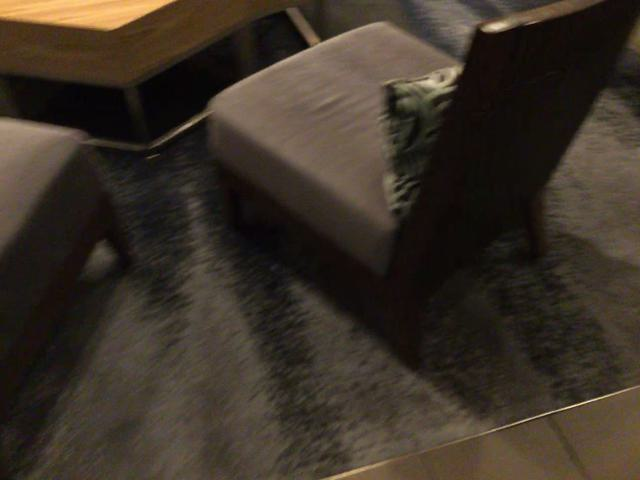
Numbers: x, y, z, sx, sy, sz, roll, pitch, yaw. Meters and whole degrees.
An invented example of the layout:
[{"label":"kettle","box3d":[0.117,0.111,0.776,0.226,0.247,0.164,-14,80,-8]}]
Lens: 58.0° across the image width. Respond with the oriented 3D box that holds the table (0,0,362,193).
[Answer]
[{"label":"table","box3d":[-0.800,-0.840,2.120,1.600,0.500,1.220,-13,49,-9]}]
